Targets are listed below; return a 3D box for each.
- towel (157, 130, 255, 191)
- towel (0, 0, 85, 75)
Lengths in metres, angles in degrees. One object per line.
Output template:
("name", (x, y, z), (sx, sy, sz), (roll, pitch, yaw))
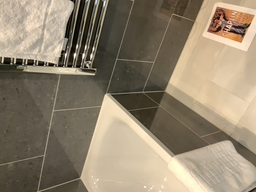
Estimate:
("towel", (0.400, 0.330, 0.950), (0.270, 0.460, 0.140), (44, 124, 38))
("towel", (-0.390, -0.250, 0.690), (0.110, 0.440, 0.340), (43, 123, 38))
